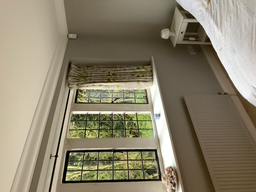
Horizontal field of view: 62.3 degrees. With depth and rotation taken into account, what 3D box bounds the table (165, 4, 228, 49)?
[{"bbox_3d":[1.000,-1.050,3.220,0.470,0.700,0.460,97,172,-47],"label":"table"}]
